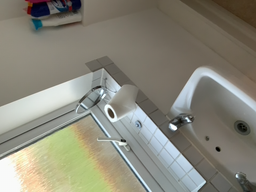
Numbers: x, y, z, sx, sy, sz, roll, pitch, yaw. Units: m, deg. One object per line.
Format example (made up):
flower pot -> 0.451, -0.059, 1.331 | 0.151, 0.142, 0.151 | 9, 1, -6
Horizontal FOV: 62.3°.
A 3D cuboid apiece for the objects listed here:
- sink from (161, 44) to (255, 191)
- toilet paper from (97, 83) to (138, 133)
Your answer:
sink -> 0.390, 0.100, 0.730 | 0.460, 0.220, 0.290 | 48, 146, 24
toilet paper -> -0.050, 0.050, 0.900 | 0.110, 0.110, 0.150 | 46, 145, 26
